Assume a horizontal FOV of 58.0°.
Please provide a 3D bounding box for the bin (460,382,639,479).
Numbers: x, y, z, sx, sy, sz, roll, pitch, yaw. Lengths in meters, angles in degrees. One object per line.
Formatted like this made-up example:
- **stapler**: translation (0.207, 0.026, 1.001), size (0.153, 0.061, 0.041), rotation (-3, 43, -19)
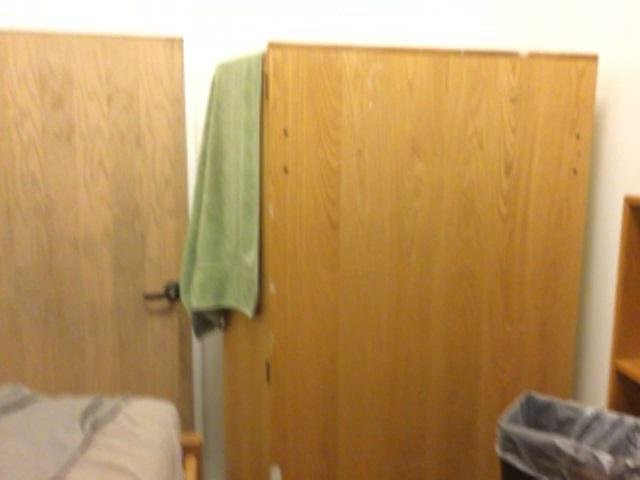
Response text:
- **bin**: translation (0.490, 0.510, 1.160), size (0.320, 0.330, 0.290), rotation (-3, 7, -9)
